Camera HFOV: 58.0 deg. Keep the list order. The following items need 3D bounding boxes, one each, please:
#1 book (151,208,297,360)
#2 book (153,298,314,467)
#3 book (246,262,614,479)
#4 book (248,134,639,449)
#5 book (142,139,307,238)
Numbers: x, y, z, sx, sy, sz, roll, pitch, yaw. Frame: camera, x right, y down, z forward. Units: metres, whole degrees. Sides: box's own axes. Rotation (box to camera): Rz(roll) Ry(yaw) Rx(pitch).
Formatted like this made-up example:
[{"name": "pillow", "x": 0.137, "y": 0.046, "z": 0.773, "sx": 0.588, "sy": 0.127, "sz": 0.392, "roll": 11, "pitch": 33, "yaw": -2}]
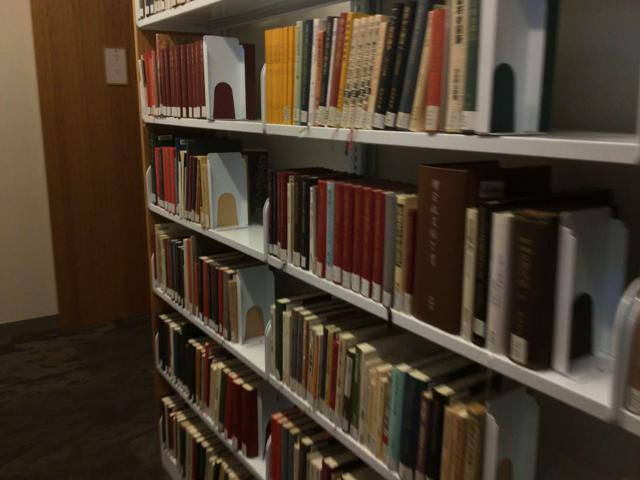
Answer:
[{"name": "book", "x": -0.340, "y": 0.110, "z": 1.920, "sx": 0.210, "sy": 0.310, "sz": 0.640, "roll": -9, "pitch": 17, "yaw": -34}, {"name": "book", "x": -0.330, "y": 0.440, "z": 1.990, "sx": 0.220, "sy": 0.230, "sz": 0.770, "roll": -9, "pitch": 17, "yaw": -34}, {"name": "book", "x": 0.170, "y": 0.300, "z": 1.330, "sx": 0.330, "sy": 0.260, "sz": 0.820, "roll": -9, "pitch": 17, "yaw": -34}, {"name": "book", "x": 0.190, "y": -0.010, "z": 1.130, "sx": 0.230, "sy": 0.320, "sz": 0.960, "roll": -9, "pitch": 17, "yaw": -34}, {"name": "book", "x": -0.340, "y": -0.200, "z": 1.960, "sx": 0.330, "sy": 0.230, "sz": 0.570, "roll": -9, "pitch": 17, "yaw": -34}]
